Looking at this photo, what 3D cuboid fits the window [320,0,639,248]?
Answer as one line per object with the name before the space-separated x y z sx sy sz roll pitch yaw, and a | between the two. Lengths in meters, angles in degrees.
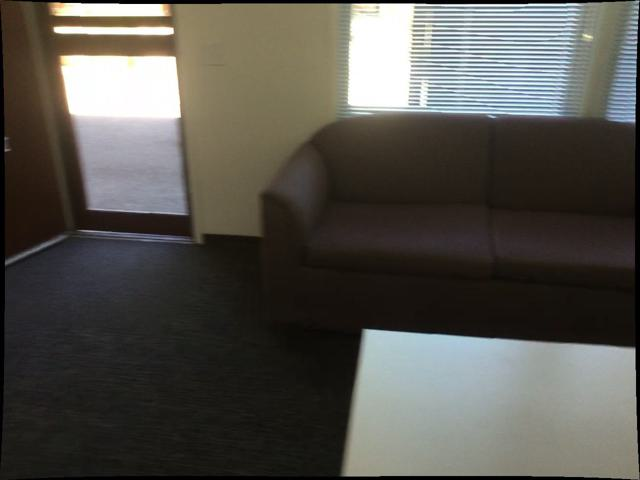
window | 1.218 -0.942 2.520 2.416 1.993 0.290 4 26 9
